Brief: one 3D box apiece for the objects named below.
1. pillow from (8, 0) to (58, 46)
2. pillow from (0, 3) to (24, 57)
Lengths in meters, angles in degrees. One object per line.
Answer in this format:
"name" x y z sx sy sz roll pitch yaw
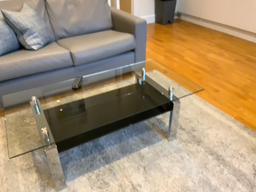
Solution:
"pillow" -0.940 -0.720 2.160 0.150 0.390 0.480 -11 12 8
"pillow" -1.160 -0.600 1.900 0.190 0.360 0.410 -2 33 -1
